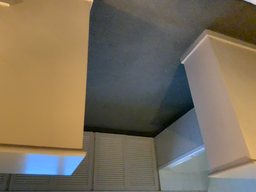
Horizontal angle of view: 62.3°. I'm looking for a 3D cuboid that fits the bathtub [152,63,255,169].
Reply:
[{"bbox_3d":[1.040,0.410,2.630,0.790,0.590,1.680,7,148,-18],"label":"bathtub"}]
